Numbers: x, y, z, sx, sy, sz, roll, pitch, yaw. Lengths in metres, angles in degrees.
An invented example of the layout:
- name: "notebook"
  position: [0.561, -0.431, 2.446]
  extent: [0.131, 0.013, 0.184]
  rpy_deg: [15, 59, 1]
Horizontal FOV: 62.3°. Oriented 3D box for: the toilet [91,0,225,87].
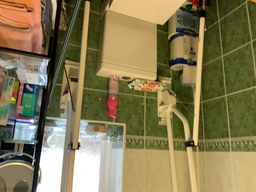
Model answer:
- name: "toilet"
  position: [0.100, -0.530, 1.140]
  extent: [0.380, 0.780, 0.620]
  rpy_deg: [8, 164, -23]
